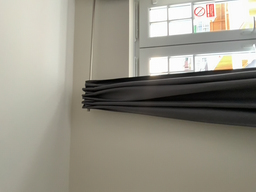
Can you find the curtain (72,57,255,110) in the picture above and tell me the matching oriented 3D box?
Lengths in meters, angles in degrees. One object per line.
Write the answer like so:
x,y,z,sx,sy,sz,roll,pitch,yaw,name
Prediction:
0.780,-0.080,1.490,0.260,2.420,0.310,29,-120,-75,curtain
